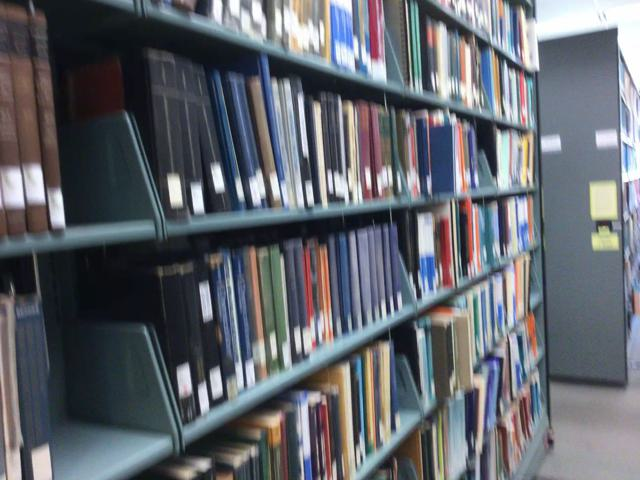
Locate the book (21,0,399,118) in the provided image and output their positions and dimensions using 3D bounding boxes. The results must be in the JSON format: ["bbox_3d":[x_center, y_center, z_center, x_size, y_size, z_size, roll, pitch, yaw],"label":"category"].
[{"bbox_3d":[-0.110,-0.490,1.150,0.190,0.360,0.940,-2,3,29],"label":"book"}]

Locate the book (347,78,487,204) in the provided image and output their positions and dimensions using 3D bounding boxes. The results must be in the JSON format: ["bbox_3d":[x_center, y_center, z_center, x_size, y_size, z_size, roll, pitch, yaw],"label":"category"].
[{"bbox_3d":[0.330,-0.280,1.810,0.230,0.310,0.610,-2,3,29],"label":"book"}]

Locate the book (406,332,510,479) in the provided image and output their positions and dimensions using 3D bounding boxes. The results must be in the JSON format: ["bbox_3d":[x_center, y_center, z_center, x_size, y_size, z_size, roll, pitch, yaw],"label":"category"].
[{"bbox_3d":[0.520,0.590,2.020,0.090,0.330,0.960,-2,3,29],"label":"book"}]

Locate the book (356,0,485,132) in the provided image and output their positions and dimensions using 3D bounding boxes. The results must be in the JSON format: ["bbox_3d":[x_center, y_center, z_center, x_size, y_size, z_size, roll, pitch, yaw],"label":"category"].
[{"bbox_3d":[0.360,-0.570,1.870,0.140,0.350,0.820,-2,3,29],"label":"book"}]

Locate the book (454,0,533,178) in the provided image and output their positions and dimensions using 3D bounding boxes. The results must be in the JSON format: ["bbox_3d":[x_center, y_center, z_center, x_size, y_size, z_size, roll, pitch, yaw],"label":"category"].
[{"bbox_3d":[0.820,-0.630,2.650,0.150,0.660,0.820,-2,3,29],"label":"book"}]
